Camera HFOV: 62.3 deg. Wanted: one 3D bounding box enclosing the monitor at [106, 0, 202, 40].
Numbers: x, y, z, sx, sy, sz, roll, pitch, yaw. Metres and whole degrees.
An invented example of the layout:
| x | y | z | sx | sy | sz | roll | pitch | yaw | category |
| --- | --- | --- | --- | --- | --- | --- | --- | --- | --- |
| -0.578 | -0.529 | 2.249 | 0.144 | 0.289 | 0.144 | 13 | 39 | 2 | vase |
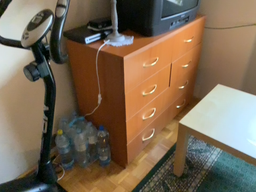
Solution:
| x | y | z | sx | sy | sz | roll | pitch | yaw | category |
| --- | --- | --- | --- | --- | --- | --- | --- | --- | --- |
| 0.190 | -0.690 | 1.380 | 0.380 | 0.440 | 0.570 | 25 | 42 | 34 | monitor |

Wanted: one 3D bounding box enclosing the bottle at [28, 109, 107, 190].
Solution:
| x | y | z | sx | sy | sz | roll | pitch | yaw | category |
| --- | --- | --- | --- | --- | --- | --- | --- | --- | --- |
| -0.410 | 0.350 | 1.490 | 0.340 | 0.260 | 0.370 | 26 | 42 | 35 | bottle |
